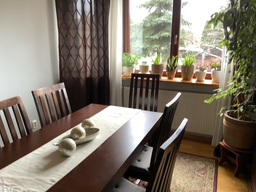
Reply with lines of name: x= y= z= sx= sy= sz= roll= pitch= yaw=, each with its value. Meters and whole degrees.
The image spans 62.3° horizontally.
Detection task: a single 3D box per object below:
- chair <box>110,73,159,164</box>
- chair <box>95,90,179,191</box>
chair: x=0.100 y=0.250 z=2.790 sx=0.460 sy=1.010 sz=0.560 roll=6 pitch=16 yaw=19
chair: x=0.090 y=0.510 z=1.850 sx=0.560 sy=1.000 sz=0.460 roll=7 pitch=16 yaw=23
